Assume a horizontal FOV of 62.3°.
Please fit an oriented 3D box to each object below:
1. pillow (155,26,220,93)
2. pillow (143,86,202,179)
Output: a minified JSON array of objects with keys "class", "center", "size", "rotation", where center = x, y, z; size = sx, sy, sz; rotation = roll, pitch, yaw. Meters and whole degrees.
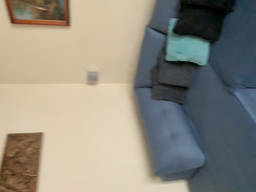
[{"class":"pillow","center":[0.520,-0.320,1.930],"size":[0.490,0.400,0.190],"rotation":[104,-177,-45]},{"class":"pillow","center":[0.430,0.320,2.080],"size":[0.240,0.430,0.820],"rotation":[104,178,-47]}]
